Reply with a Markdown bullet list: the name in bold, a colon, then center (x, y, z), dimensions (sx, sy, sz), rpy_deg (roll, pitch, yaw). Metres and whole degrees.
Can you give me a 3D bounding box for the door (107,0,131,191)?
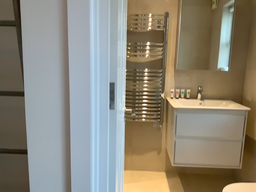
- **door**: center (-0.030, -0.030, 1.190), dimensions (0.050, 2.090, 0.870), rpy_deg (2, 9, 2)
